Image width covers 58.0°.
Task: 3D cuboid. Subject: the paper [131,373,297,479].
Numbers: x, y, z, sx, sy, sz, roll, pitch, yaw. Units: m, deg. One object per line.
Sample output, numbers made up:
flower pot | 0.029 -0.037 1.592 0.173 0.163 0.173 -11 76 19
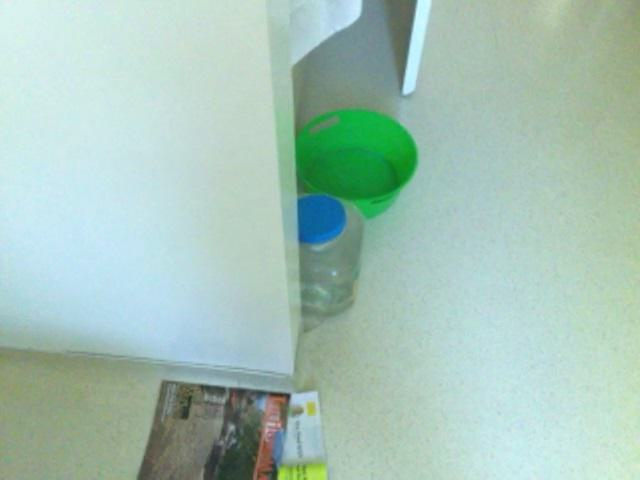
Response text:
paper | -0.200 0.390 1.130 0.270 0.040 0.210 8 58 7
